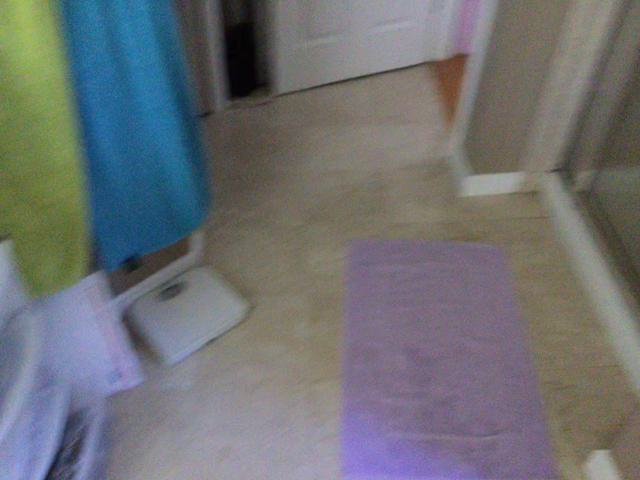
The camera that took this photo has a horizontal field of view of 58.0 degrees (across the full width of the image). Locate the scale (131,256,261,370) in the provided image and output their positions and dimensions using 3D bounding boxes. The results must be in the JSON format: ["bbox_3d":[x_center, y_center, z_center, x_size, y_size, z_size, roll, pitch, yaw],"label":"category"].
[{"bbox_3d":[-0.360,0.200,1.680,0.270,0.060,0.260,-31,51,-27],"label":"scale"}]

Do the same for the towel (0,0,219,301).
[{"bbox_3d":[-0.440,-0.200,1.320,0.290,0.700,0.140,-30,51,-26],"label":"towel"}]

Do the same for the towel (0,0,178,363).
[{"bbox_3d":[-0.560,-0.140,1.200,0.120,0.880,0.360,34,54,31],"label":"towel"}]
